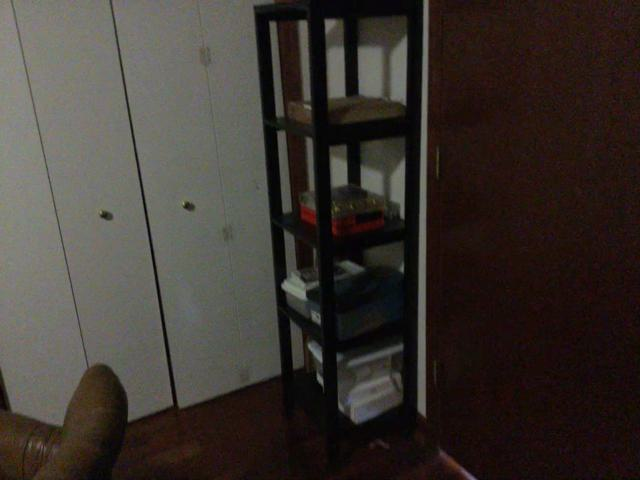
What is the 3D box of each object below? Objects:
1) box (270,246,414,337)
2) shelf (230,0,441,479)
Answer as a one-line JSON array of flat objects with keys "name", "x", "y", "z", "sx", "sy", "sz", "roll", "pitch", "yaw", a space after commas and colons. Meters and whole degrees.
[{"name": "box", "x": 0.070, "y": 0.170, "z": 2.120, "sx": 0.360, "sy": 0.140, "sz": 0.410, "roll": -11, "pitch": 19, "yaw": -28}, {"name": "shelf", "x": 0.040, "y": -0.130, "z": 2.010, "sx": 0.450, "sy": 1.790, "sz": 0.540, "roll": -11, "pitch": 19, "yaw": -27}]
